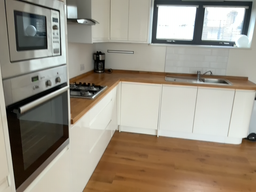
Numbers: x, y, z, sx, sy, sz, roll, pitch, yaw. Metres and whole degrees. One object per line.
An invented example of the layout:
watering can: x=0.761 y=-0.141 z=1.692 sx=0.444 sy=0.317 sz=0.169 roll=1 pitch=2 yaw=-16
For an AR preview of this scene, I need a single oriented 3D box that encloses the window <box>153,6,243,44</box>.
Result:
window: x=1.160 y=-1.230 z=3.670 sx=1.400 sy=0.560 sz=0.160 roll=5 pitch=16 yaw=8
